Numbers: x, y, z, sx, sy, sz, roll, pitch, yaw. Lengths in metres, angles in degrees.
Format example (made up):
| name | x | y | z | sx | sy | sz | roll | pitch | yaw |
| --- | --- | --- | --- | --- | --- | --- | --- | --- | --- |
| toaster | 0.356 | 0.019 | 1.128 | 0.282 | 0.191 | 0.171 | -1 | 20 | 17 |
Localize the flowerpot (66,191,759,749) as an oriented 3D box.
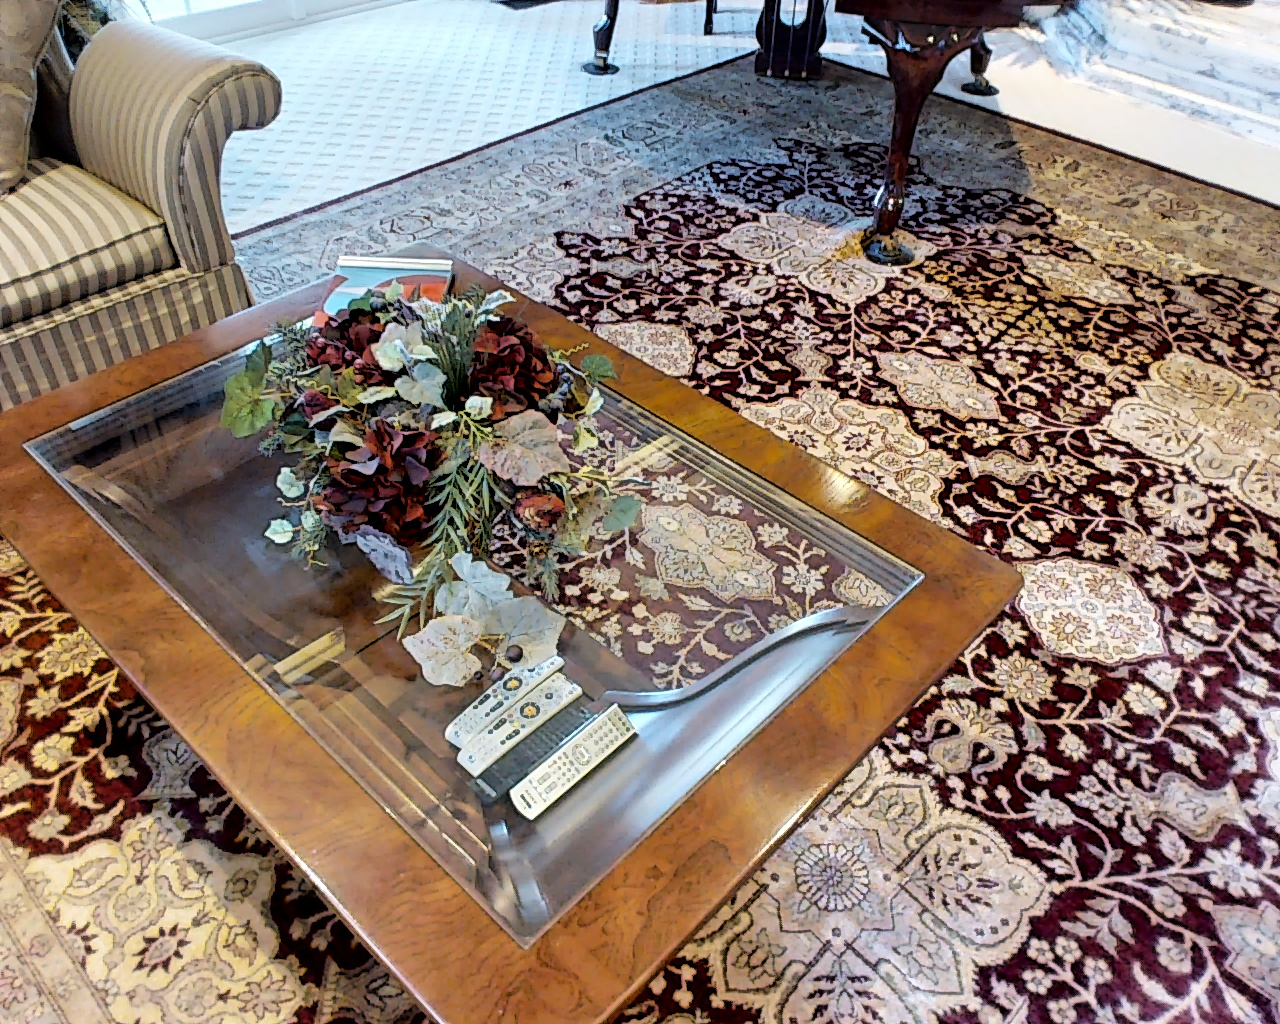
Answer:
| name | x | y | z | sx | sy | sz | roll | pitch | yaw |
| --- | --- | --- | --- | --- | --- | --- | --- | --- | --- |
| flowerpot | -0.270 | -0.110 | 1.360 | 0.620 | 0.250 | 0.540 | 29 | 48 | 26 |
